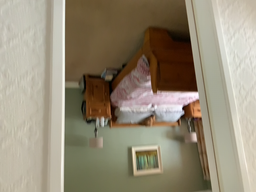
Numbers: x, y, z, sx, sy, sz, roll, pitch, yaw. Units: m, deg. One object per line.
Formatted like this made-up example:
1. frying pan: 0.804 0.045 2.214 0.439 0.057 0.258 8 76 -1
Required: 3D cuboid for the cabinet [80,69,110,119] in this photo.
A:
1. cabinet: -0.650 -0.020 4.030 0.440 0.830 0.510 1 167 -20
